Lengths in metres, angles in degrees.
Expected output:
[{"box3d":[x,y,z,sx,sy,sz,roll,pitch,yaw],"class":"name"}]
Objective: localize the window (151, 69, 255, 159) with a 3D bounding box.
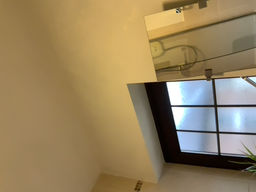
[{"box3d":[0.700,0.140,1.400,0.110,0.990,0.630,-55,-43,-50],"class":"window"}]
